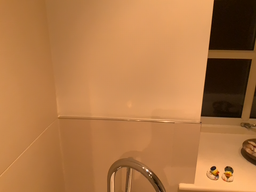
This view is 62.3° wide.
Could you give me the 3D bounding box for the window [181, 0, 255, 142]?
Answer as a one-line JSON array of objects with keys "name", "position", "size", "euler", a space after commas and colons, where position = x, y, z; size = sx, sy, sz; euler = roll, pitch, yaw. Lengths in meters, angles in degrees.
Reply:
[{"name": "window", "position": [0.810, -0.230, 1.320], "size": [0.850, 1.140, 0.050], "euler": [2, 19, 5]}]
